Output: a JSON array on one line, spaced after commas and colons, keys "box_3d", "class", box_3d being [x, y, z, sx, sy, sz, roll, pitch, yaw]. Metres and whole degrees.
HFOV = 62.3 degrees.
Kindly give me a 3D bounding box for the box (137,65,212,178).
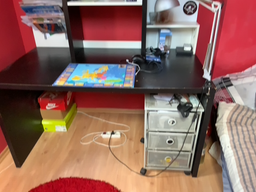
[{"box_3d": [0.340, 0.160, 1.770, 0.450, 0.590, 0.730, 3, 30, 7], "class": "box"}]
